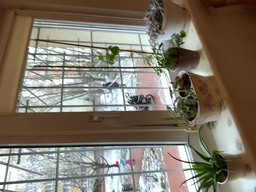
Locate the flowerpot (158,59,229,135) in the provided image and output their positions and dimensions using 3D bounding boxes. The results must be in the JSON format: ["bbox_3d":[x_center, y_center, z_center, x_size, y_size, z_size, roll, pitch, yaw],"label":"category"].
[{"bbox_3d":[0.310,0.000,1.080,0.170,0.210,0.340,108,158,-55],"label":"flowerpot"}]

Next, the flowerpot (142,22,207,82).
[{"bbox_3d":[0.250,-0.250,1.230,0.220,0.250,0.250,107,159,-53],"label":"flowerpot"}]
